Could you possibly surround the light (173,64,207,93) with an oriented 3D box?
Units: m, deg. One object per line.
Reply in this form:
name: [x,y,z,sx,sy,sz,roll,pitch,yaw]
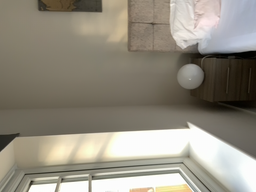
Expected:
light: [0.600,-0.180,2.090,0.280,0.210,0.260,-142,52,-78]
